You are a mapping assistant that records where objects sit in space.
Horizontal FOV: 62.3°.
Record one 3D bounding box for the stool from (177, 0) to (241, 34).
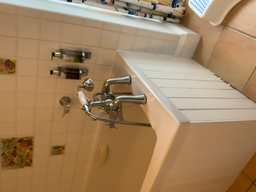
[{"bbox_3d":[0.470,-0.600,1.220,0.330,0.140,0.310,-52,44,51],"label":"stool"}]
